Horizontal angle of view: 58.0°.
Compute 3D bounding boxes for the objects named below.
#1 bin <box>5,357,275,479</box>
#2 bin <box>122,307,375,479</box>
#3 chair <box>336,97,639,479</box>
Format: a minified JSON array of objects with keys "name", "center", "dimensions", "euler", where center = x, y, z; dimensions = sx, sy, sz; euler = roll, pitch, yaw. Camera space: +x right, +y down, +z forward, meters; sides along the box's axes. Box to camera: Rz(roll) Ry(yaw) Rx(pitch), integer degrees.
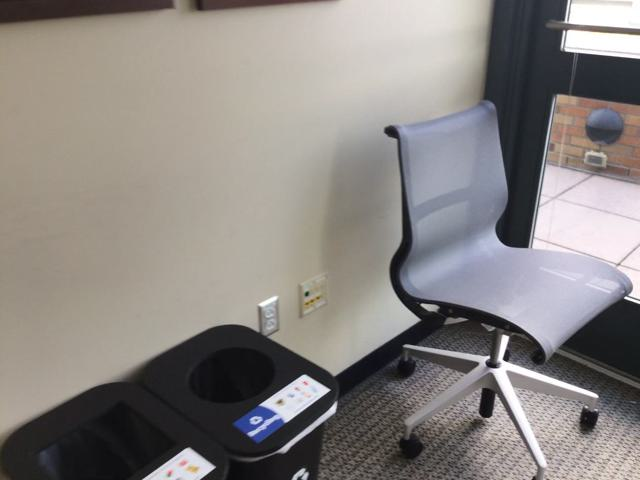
[{"name":"bin","center":[-0.340,0.610,1.190],"dimensions":[0.330,0.520,0.410],"euler":[-23,31,-39]},{"name":"bin","center":[-0.150,0.530,1.370],"dimensions":[0.380,0.530,0.410],"euler":[-23,31,-39]},{"name":"chair","center":[0.490,0.140,1.690],"dimensions":[0.530,0.960,0.690],"euler":[-23,31,-39]}]
